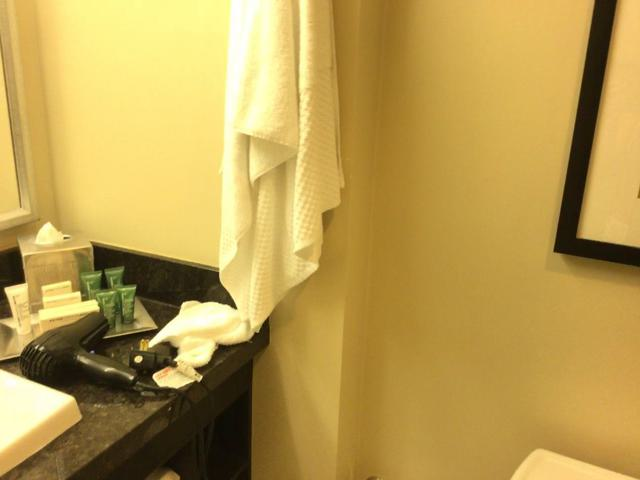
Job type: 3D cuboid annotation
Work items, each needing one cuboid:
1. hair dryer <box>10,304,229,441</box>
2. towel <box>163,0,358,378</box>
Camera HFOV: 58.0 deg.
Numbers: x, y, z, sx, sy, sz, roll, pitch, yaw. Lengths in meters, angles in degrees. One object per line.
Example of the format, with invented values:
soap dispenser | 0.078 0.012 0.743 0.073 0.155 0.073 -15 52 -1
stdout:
hair dryer | -0.320 0.200 0.940 0.280 0.080 0.190 9 18 25
towel | -0.090 -0.270 0.920 0.240 0.940 0.180 9 18 25
